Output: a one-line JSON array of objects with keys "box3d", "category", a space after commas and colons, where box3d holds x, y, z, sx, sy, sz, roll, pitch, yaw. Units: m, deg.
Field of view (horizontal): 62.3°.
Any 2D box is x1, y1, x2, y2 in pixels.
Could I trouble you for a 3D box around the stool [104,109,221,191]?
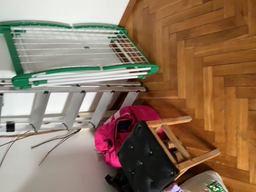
[{"box3d": [0.200, 0.370, 1.320, 0.340, 0.480, 0.420, 56, 131, 30], "category": "stool"}]
